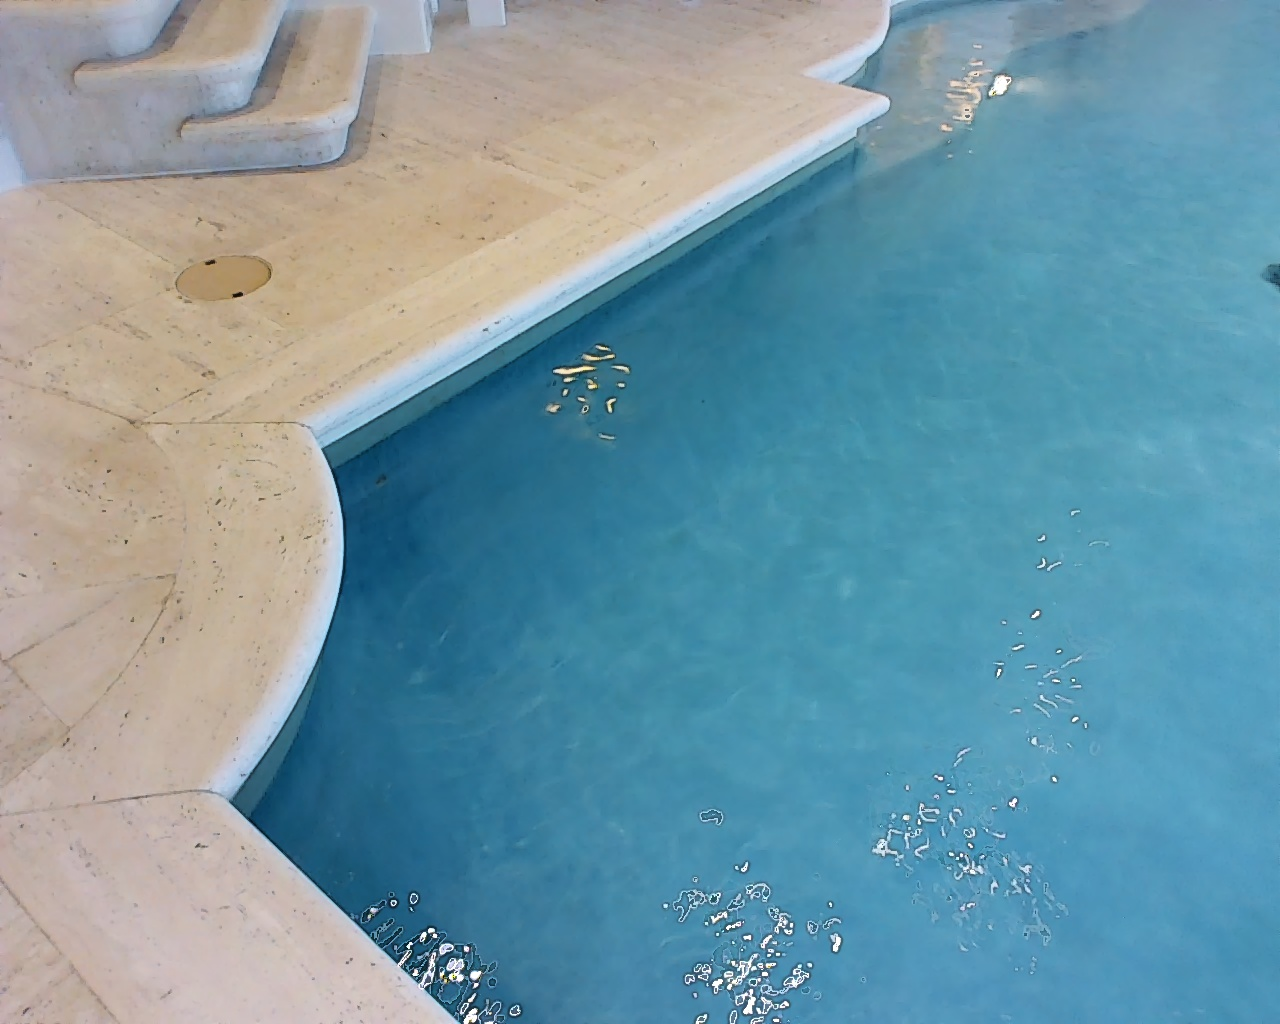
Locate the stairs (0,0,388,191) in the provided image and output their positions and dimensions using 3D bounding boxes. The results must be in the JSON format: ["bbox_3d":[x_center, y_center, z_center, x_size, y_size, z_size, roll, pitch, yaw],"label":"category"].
[{"bbox_3d":[-1.510,-1.690,3.530,1.130,0.740,1.160,-4,41,-4],"label":"stairs"}]
